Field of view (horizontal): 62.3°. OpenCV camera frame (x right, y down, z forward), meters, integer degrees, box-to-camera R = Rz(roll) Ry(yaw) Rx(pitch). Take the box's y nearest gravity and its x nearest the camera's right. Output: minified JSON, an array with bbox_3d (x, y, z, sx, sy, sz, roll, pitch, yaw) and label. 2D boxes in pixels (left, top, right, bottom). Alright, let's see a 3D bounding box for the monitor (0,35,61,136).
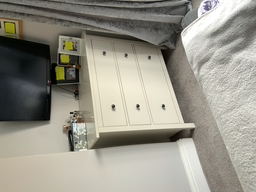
[{"bbox_3d":[-0.930,-0.120,1.890,0.040,0.460,0.850,-18,85,59],"label":"monitor"}]
